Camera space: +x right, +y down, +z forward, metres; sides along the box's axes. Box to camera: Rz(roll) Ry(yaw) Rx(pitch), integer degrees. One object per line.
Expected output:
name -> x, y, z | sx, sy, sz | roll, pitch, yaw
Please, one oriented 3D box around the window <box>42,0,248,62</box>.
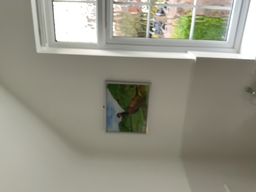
window -> 0.120, -0.990, 1.260 | 0.050, 1.340, 1.530 | -88, 0, -68
